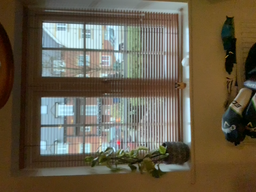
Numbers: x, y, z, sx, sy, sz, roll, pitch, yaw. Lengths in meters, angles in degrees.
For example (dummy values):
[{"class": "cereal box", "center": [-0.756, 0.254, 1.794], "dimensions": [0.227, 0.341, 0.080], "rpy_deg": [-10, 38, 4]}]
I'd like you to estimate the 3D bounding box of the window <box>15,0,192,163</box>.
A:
[{"class": "window", "center": [-0.140, -0.120, 1.520], "dimensions": [0.100, 1.210, 1.130], "rpy_deg": [170, 101, -83]}]
